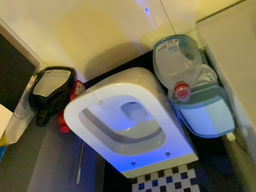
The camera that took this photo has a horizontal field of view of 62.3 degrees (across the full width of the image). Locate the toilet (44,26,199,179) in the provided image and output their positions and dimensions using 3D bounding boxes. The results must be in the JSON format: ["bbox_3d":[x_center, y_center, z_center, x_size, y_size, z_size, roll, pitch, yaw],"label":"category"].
[{"bbox_3d":[0.010,0.070,0.900,0.360,0.280,0.530,-23,130,20],"label":"toilet"}]
